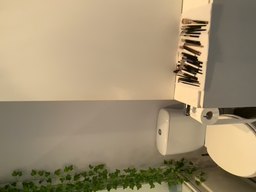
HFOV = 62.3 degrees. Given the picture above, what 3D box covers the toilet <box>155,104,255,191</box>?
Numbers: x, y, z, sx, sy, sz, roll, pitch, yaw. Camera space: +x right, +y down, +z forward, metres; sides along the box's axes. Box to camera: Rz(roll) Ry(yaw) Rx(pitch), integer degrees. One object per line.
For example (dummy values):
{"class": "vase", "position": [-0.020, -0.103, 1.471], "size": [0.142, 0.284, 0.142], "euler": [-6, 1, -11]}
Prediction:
{"class": "toilet", "position": [0.670, 0.330, 1.470], "size": [0.680, 0.720, 0.410], "euler": [-150, 62, -70]}
